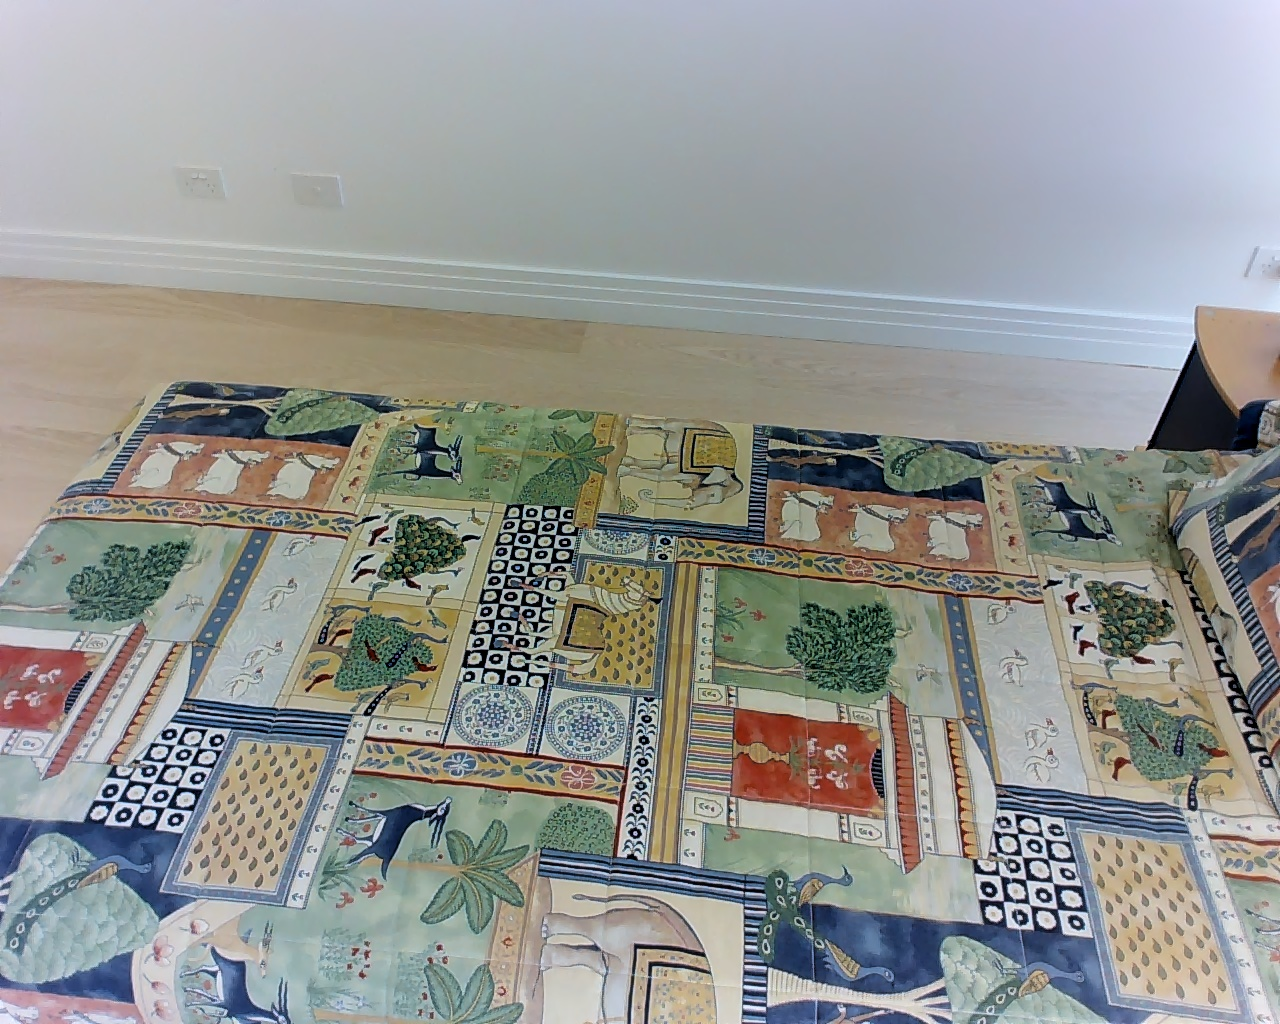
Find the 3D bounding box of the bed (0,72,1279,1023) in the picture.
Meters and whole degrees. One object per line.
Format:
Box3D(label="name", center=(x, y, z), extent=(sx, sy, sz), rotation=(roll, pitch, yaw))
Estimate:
Box3D(label="bed", center=(0.280, 0.130, 1.220), extent=(2.390, 0.750, 1.090), rotation=(4, 43, 4))
